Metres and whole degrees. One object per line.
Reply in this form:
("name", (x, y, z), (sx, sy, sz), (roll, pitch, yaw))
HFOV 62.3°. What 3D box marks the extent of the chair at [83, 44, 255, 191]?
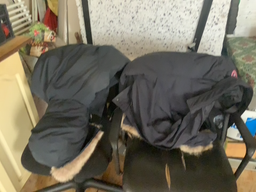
("chair", (0.230, 0.270, 1.060), (0.610, 0.830, 0.690), (3, 35, 6))
